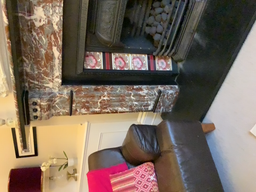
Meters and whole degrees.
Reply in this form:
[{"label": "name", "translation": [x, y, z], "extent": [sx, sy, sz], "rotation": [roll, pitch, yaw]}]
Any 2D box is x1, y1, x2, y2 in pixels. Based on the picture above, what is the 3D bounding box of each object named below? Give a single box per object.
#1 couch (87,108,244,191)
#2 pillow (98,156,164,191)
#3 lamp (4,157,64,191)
[{"label": "couch", "translation": [0.190, 0.720, 1.520], "extent": [0.890, 0.750, 0.960], "rotation": [124, 140, -57]}, {"label": "pillow", "translation": [0.050, 0.720, 1.530], "extent": [0.420, 0.390, 0.110], "rotation": [62, -173, 25]}, {"label": "lamp", "translation": [-1.110, 1.010, 2.570], "extent": [0.330, 0.610, 0.300], "rotation": [-114, 31, -46]}]
